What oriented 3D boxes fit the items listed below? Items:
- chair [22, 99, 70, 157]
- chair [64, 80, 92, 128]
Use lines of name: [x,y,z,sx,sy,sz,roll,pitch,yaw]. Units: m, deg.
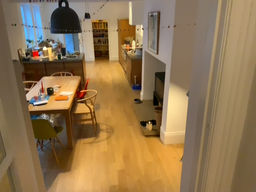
chair: [-1.200,0.470,3.210,0.490,0.720,0.450,-1,22,-4]
chair: [-0.920,0.140,4.000,0.440,0.740,0.490,-3,22,-9]
